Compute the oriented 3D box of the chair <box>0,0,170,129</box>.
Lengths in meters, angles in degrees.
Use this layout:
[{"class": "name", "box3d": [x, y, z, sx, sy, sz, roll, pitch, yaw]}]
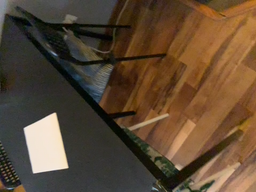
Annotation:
[{"class": "chair", "box3d": [-0.220, -0.190, 1.230, 0.450, 0.750, 0.440, 43, 120, 30]}]
